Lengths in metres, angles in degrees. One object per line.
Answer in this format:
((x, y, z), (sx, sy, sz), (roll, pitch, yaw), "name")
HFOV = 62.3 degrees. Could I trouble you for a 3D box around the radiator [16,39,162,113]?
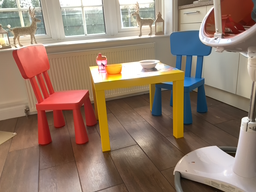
((-0.290, -0.220, 2.060), (1.330, 0.550, 0.080), (-10, 20, -17), "radiator")
